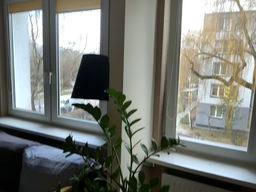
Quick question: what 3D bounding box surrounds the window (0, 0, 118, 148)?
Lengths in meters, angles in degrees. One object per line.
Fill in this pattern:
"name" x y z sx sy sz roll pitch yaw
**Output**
"window" -0.910 -0.380 2.570 1.670 1.730 0.110 7 10 25
